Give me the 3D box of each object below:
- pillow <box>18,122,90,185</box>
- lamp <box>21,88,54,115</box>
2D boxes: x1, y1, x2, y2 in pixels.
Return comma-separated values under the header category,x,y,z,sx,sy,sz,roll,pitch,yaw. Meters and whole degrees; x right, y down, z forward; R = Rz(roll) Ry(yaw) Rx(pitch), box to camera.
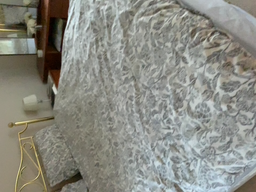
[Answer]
category,x,y,z,sx,sy,sz,roll,pitch,yaw
pillow,-0.810,0.610,2.330,0.700,0.330,0.130,31,128,13
lamp,-1.240,0.070,2.910,0.230,0.370,0.220,53,137,37
